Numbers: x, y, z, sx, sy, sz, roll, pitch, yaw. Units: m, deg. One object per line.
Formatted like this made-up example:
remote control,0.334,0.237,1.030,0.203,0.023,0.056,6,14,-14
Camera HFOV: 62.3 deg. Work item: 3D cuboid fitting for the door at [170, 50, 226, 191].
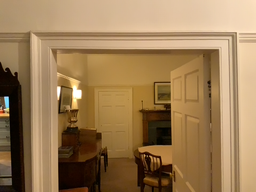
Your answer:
door,0.520,0.710,1.760,0.070,1.950,1.090,-1,1,-1

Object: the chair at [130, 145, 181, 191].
chair,0.430,1.260,3.270,0.570,0.840,0.550,0,0,41

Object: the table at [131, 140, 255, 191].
table,1.260,1.300,3.720,2.360,0.730,1.380,-1,1,0

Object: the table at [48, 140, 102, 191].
table,-0.770,1.290,3.460,0.560,0.820,1.390,-1,0,-2
